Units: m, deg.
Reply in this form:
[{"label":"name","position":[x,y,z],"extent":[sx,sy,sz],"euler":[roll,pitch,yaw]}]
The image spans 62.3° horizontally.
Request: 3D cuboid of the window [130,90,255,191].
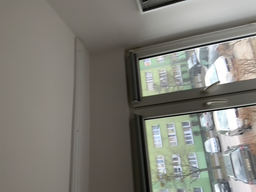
[{"label":"window","position":[0.650,0.460,1.290],"extent":[0.200,1.220,0.940],"euler":[57,-153,-60]}]
